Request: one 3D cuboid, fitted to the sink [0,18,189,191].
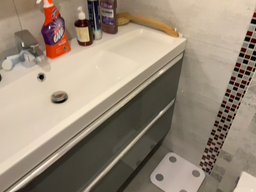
[{"bbox_3d":[-0.190,-0.090,0.900,0.460,0.110,0.990,27,47,29],"label":"sink"}]
